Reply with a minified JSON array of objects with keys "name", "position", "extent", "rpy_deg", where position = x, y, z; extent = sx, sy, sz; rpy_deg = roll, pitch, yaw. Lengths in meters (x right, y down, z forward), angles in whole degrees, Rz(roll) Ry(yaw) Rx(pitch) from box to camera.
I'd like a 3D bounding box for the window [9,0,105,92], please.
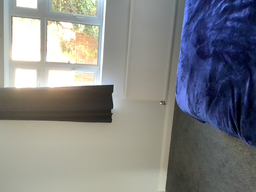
[{"name":"window","position":[-0.910,-0.820,2.790],"extent":[0.050,1.170,1.510],"rpy_deg":[-147,60,-73]}]
